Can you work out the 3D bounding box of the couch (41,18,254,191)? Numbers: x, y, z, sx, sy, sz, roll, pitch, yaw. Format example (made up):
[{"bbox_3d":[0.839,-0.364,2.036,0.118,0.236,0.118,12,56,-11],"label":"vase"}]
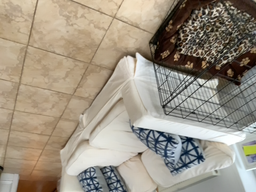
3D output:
[{"bbox_3d":[-0.130,0.460,2.090,0.990,0.740,2.060,13,141,-25],"label":"couch"}]
